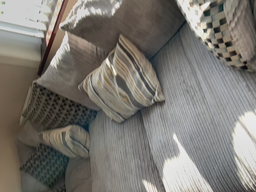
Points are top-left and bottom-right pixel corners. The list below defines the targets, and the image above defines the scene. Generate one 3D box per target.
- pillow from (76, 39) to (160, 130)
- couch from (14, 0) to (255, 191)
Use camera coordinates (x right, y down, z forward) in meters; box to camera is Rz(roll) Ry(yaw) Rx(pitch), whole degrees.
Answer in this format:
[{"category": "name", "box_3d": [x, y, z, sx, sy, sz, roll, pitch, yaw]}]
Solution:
[{"category": "pillow", "box_3d": [-0.090, -0.040, 1.300, 0.420, 0.290, 0.360, -44, 50, 45]}, {"category": "couch", "box_3d": [-0.160, 0.250, 1.500, 2.940, 0.820, 1.220, -45, 50, 45]}]
